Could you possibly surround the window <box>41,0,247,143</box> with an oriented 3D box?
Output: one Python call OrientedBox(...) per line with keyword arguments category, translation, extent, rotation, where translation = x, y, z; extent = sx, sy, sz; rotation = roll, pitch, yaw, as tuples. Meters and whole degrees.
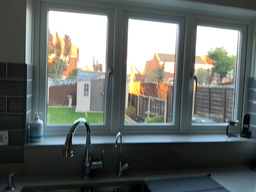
OrientedBox(category="window", translation=(0.190, -0.140, 1.690), extent=(1.620, 0.980, 0.100), rotation=(2, 3, -13))
